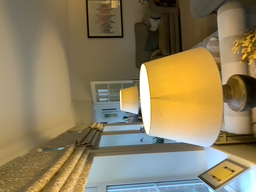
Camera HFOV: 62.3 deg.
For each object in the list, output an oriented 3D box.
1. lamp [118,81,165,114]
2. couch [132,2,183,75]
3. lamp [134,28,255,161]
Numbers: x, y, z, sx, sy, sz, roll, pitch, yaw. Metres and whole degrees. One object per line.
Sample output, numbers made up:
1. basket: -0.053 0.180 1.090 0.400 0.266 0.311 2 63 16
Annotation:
1. lamp: 0.220 0.030 3.860 0.500 0.780 0.540 155 113 -84
2. couch: 0.630 -1.260 4.890 1.000 0.890 1.380 155 113 -84
3. lamp: 0.440 -0.010 1.150 0.560 0.730 0.520 155 113 -84
